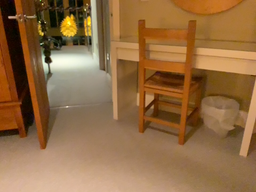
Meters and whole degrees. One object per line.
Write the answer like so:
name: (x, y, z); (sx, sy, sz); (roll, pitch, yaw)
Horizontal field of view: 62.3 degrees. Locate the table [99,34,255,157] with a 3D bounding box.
table: (0.440, -0.110, 1.920); (1.290, 0.760, 0.530); (12, 25, 27)
